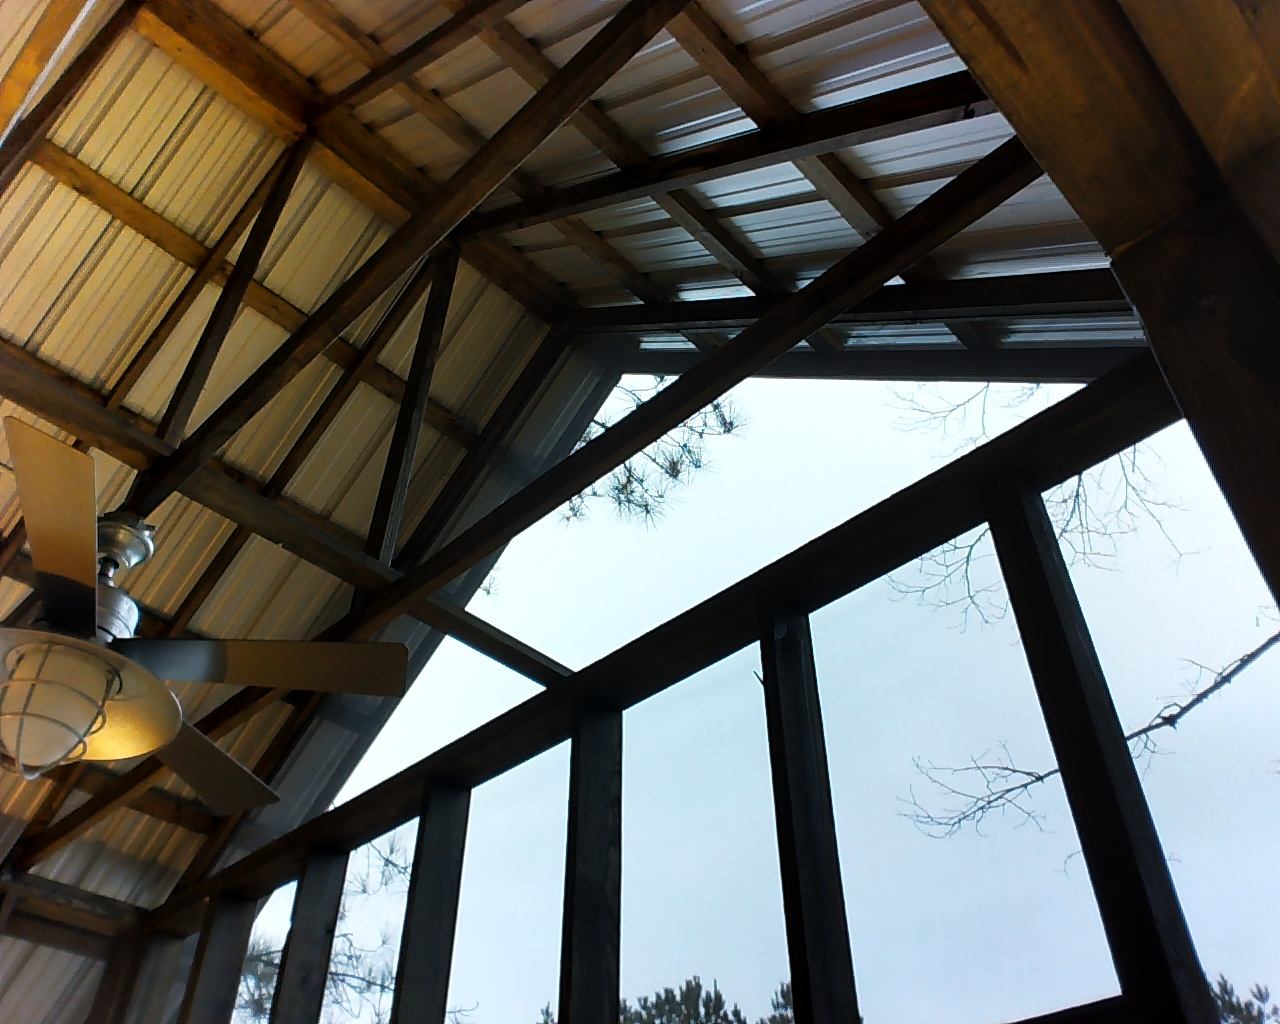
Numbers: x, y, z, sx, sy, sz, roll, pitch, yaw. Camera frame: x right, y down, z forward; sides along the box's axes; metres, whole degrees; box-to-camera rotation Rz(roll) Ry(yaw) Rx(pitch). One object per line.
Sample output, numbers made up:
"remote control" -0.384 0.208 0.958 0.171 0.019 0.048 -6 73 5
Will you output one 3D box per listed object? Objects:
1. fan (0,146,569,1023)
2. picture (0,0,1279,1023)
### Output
"fan" -1.090 0.260 2.190 1.330 1.340 0.600 -33 -7 31
"picture" -0.650 0.800 1.190 2.420 3.160 3.420 -33 -52 31
